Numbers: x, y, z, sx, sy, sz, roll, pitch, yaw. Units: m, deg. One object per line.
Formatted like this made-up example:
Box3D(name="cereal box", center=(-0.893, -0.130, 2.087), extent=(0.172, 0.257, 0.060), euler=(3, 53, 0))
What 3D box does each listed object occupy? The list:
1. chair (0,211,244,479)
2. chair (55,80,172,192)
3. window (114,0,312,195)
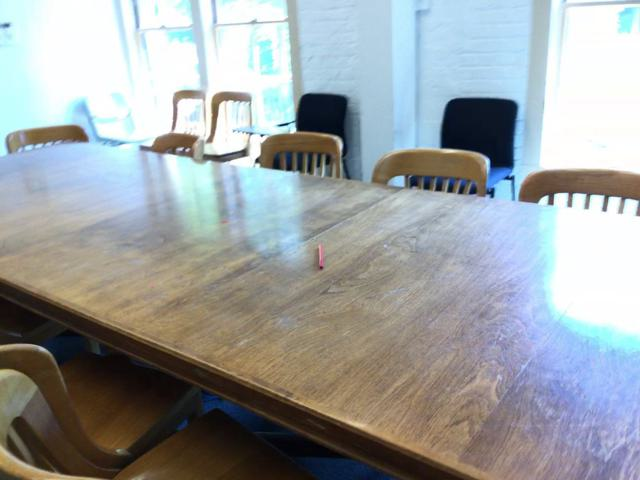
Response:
Box3D(name="chair", center=(-0.640, 0.420, 1.530), extent=(0.430, 0.750, 0.710), euler=(14, 28, 35))
Box3D(name="chair", center=(-1.780, -0.930, 5.050), extent=(0.510, 0.810, 0.650), euler=(13, 28, 34))
Box3D(name="window", center=(-0.890, -1.230, 4.740), extent=(1.710, 1.450, 0.340), euler=(13, 28, 34))
